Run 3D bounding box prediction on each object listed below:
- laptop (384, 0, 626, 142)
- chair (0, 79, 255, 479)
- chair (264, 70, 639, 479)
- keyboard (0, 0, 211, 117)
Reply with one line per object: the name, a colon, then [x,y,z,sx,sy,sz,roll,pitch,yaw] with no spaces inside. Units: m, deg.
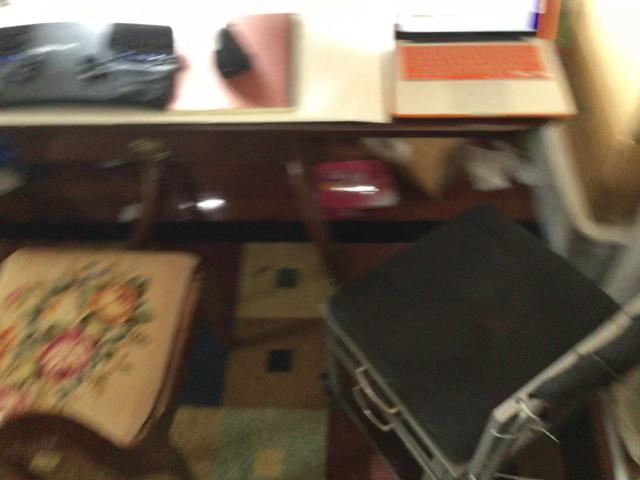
laptop: [0.290,-0.400,1.050,0.340,0.240,0.380,0,53,6]
chair: [-0.470,0.260,1.080,0.470,0.890,0.600,0,53,6]
chair: [0.310,0.210,1.130,0.570,0.760,0.480,-27,55,-15]
keyboard: [-0.460,-0.350,1.110,0.450,0.090,0.230,0,53,6]
